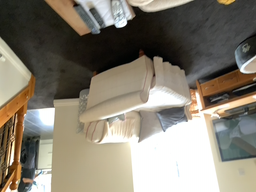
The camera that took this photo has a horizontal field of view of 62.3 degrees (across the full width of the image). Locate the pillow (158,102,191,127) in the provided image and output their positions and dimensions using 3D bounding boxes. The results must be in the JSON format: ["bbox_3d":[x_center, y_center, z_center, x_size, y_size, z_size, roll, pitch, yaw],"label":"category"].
[{"bbox_3d":[0.590,0.250,2.760,0.380,0.200,0.360,-6,160,6],"label":"pillow"}]

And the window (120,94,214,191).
[{"bbox_3d":[0.610,1.130,3.520,1.350,2.290,0.300,-3,160,-2],"label":"window"}]

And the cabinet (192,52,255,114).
[{"bbox_3d":[1.490,-0.130,2.920,0.550,0.490,0.960,14,155,-40],"label":"cabinet"}]
